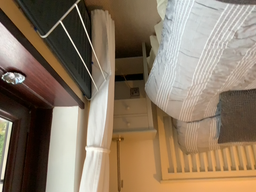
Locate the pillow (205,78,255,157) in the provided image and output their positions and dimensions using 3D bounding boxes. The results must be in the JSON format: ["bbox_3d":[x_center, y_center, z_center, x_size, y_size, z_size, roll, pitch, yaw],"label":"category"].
[{"bbox_3d":[0.820,0.160,1.430,0.420,0.400,0.130,25,-158,6],"label":"pillow"}]

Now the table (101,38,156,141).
[{"bbox_3d":[0.000,-0.040,1.860,0.400,0.780,0.430,-3,160,3],"label":"table"}]
